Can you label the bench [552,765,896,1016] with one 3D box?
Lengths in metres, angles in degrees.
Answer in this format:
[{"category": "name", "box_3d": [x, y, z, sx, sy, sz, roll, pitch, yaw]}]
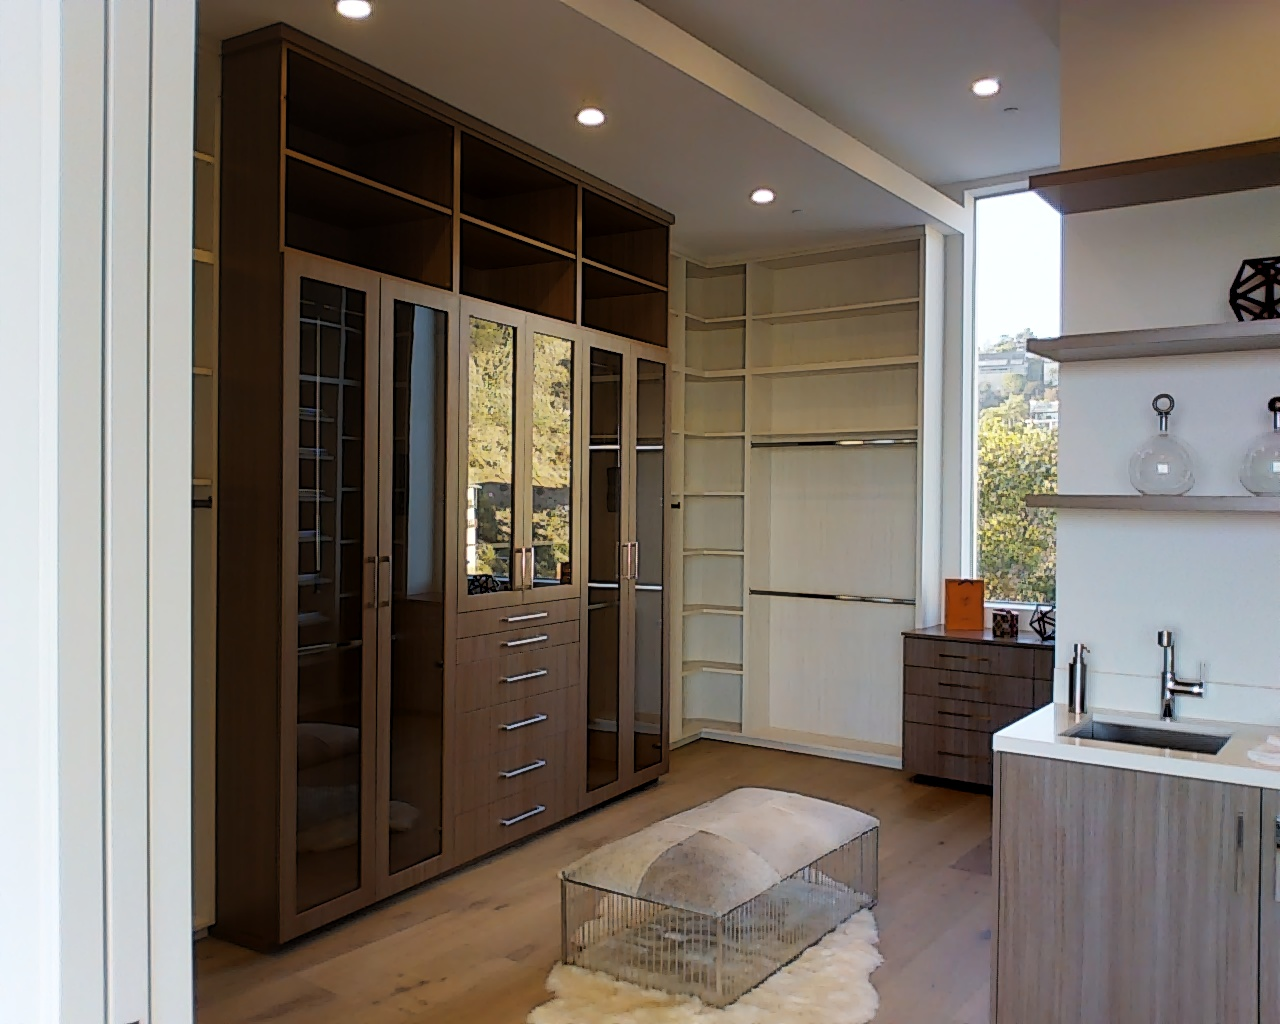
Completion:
[{"category": "bench", "box_3d": [0.350, 1.280, 3.880, 0.680, 0.400, 1.240, 1, 1, 37]}]
